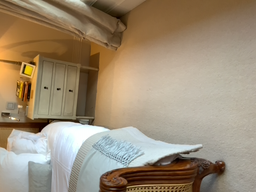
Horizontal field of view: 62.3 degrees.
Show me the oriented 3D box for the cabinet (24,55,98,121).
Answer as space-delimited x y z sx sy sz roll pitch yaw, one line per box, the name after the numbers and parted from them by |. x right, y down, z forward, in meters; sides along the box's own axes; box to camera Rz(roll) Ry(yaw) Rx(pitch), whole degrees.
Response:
-0.880 -0.070 2.800 0.470 0.770 0.730 0 84 57 | cabinet

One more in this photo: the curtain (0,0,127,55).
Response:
-1.160 -0.850 2.000 0.580 2.320 0.370 2 86 57 | curtain
